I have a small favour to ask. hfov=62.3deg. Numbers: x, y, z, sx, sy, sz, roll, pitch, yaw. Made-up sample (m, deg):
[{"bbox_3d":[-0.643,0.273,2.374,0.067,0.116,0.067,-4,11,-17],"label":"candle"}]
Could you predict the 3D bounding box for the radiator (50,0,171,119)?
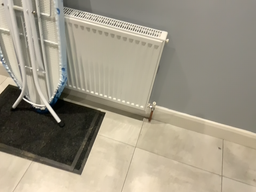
[{"bbox_3d":[-0.120,-0.170,1.330,0.600,0.720,0.090,15,51,5],"label":"radiator"}]
